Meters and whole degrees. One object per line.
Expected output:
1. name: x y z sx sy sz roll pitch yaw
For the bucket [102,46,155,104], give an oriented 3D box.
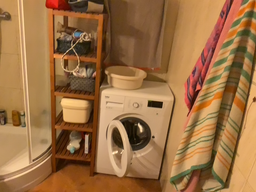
1. bucket: 0.000 -0.200 1.870 0.380 0.360 0.420 6 22 -2
